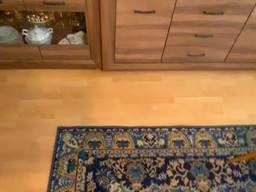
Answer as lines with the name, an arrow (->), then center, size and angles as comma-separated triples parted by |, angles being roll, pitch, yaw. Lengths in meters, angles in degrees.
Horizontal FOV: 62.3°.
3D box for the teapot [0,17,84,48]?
teapot -> -0.780, -0.570, 1.890 | 0.750, 0.130, 0.260 | -2, 52, -7
